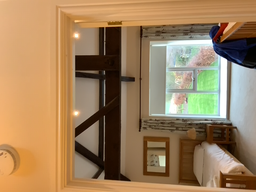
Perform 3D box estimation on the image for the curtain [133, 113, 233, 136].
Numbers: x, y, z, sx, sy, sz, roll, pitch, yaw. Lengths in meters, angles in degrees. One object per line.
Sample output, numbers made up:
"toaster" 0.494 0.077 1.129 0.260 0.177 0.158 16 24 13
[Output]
"curtain" 1.180 0.630 4.770 0.320 2.120 0.420 5 -94 -82
